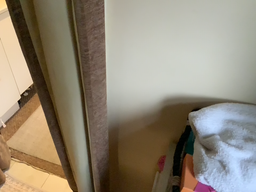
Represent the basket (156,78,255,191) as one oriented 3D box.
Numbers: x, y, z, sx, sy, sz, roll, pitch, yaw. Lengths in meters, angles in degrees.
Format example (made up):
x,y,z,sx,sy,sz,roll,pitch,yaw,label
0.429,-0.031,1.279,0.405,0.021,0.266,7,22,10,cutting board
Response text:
x,y,z,sx,sy,sz,roll,pitch,yaw,label
0.330,0.230,0.610,0.430,0.280,0.410,17,44,11,basket
